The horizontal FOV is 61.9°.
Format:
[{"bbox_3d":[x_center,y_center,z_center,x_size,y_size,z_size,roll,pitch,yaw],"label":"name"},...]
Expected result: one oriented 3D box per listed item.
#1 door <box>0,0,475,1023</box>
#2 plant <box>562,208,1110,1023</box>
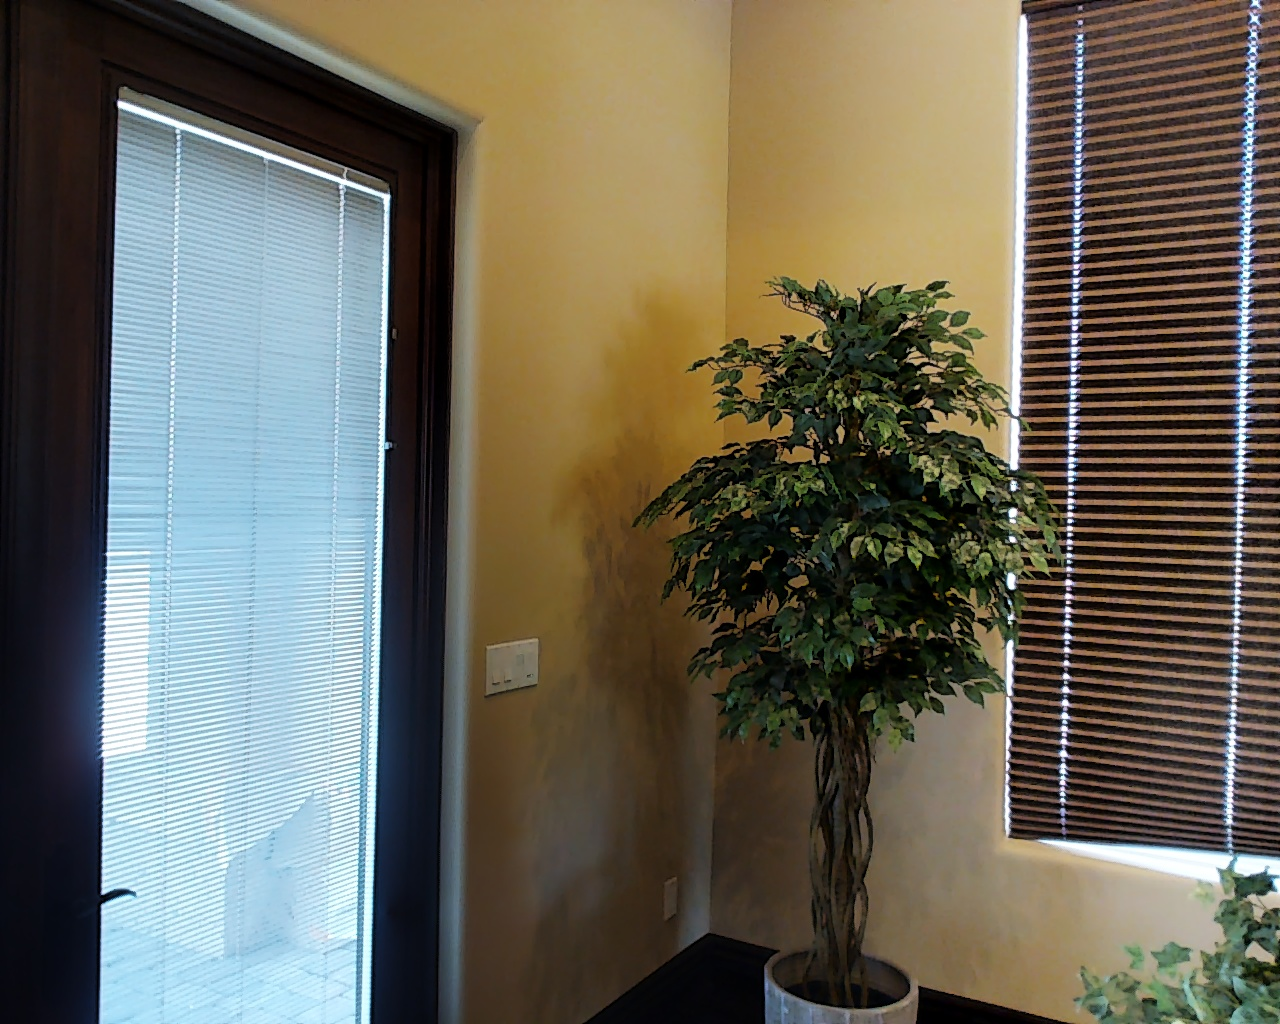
[{"bbox_3d":[-0.950,0.300,1.710,0.160,2.290,1.850,2,1,31],"label":"door"},{"bbox_3d":[0.530,0.480,2.650,1.050,2.110,0.990,2,1,27],"label":"plant"}]
